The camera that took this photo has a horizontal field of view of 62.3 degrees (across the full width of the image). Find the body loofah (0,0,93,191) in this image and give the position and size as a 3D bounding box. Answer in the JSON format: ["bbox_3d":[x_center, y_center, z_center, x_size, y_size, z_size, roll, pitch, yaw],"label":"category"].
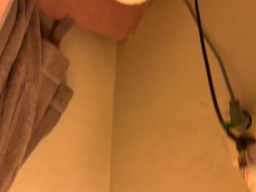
[{"bbox_3d":[-0.310,0.150,0.580,0.310,0.930,0.190,14,153,-27],"label":"body loofah"}]
